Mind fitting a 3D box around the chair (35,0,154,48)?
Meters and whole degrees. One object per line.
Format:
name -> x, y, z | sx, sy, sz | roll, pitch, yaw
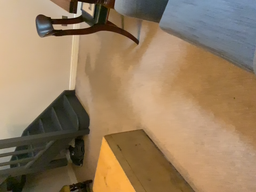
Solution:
chair -> -0.290, -0.750, 1.760 | 0.510, 0.820, 0.520 | 43, 129, 49
